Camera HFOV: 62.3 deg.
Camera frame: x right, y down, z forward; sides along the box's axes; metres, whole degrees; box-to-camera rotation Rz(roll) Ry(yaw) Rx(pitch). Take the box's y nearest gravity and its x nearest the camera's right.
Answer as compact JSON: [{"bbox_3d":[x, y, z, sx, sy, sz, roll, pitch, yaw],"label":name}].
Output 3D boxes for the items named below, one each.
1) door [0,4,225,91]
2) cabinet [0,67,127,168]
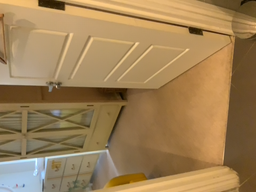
[{"bbox_3d":[-0.460,-0.200,1.230,0.770,2.080,0.030,-41,55,56],"label":"door"},{"bbox_3d":[-1.140,0.270,2.620,0.620,1.960,1.030,63,142,42],"label":"cabinet"}]
